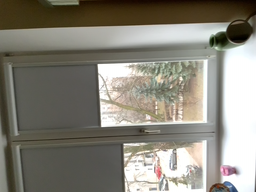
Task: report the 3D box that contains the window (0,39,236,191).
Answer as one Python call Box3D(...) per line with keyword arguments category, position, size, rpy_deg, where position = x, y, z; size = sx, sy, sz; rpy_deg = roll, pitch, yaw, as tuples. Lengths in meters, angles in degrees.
Box3D(category="window", position=(-0.080, 0.360, 1.700), size=(0.160, 1.830, 1.530), rpy_deg=(-129, 36, -86))
